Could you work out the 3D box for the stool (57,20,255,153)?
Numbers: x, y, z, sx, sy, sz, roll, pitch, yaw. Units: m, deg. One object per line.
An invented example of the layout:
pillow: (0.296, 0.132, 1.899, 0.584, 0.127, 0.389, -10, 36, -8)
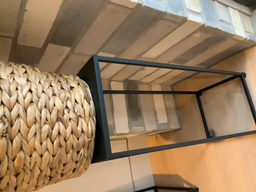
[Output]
stool: (0.110, 0.010, 0.760, 0.300, 0.620, 0.290, -27, 66, 53)
